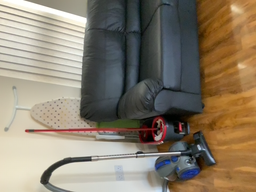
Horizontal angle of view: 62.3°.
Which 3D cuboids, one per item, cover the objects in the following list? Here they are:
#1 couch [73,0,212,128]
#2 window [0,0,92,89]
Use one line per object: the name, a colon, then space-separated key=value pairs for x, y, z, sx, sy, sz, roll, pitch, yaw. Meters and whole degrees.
couch: x=0.090 y=-0.720 z=2.180 sx=0.950 sy=0.910 sz=1.940 roll=-26 pitch=59 yaw=60
window: x=-1.000 y=-0.580 z=2.190 sx=0.030 sy=1.230 sz=0.860 roll=-28 pitch=57 yaw=60
